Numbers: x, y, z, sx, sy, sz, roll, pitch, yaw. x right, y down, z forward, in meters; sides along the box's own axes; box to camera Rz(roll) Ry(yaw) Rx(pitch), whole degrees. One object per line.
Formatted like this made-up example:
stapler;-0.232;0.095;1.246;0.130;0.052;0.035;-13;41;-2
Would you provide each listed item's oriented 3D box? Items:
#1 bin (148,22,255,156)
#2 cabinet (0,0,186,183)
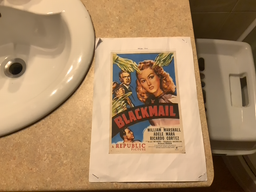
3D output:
bin;0.330;0.030;1.020;0.390;0.580;0.470;-1;72;0
cabinet;-0.540;0.030;0.900;1.310;0.800;0.580;-1;72;0
